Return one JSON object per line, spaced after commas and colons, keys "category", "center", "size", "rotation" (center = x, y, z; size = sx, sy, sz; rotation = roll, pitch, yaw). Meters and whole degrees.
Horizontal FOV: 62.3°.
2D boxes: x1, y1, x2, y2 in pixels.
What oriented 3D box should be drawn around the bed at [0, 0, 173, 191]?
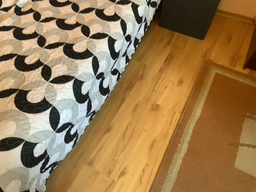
{"category": "bed", "center": [-0.590, -0.510, 1.430], "size": [1.310, 0.510, 2.010], "rotation": [21, 59, 13]}
